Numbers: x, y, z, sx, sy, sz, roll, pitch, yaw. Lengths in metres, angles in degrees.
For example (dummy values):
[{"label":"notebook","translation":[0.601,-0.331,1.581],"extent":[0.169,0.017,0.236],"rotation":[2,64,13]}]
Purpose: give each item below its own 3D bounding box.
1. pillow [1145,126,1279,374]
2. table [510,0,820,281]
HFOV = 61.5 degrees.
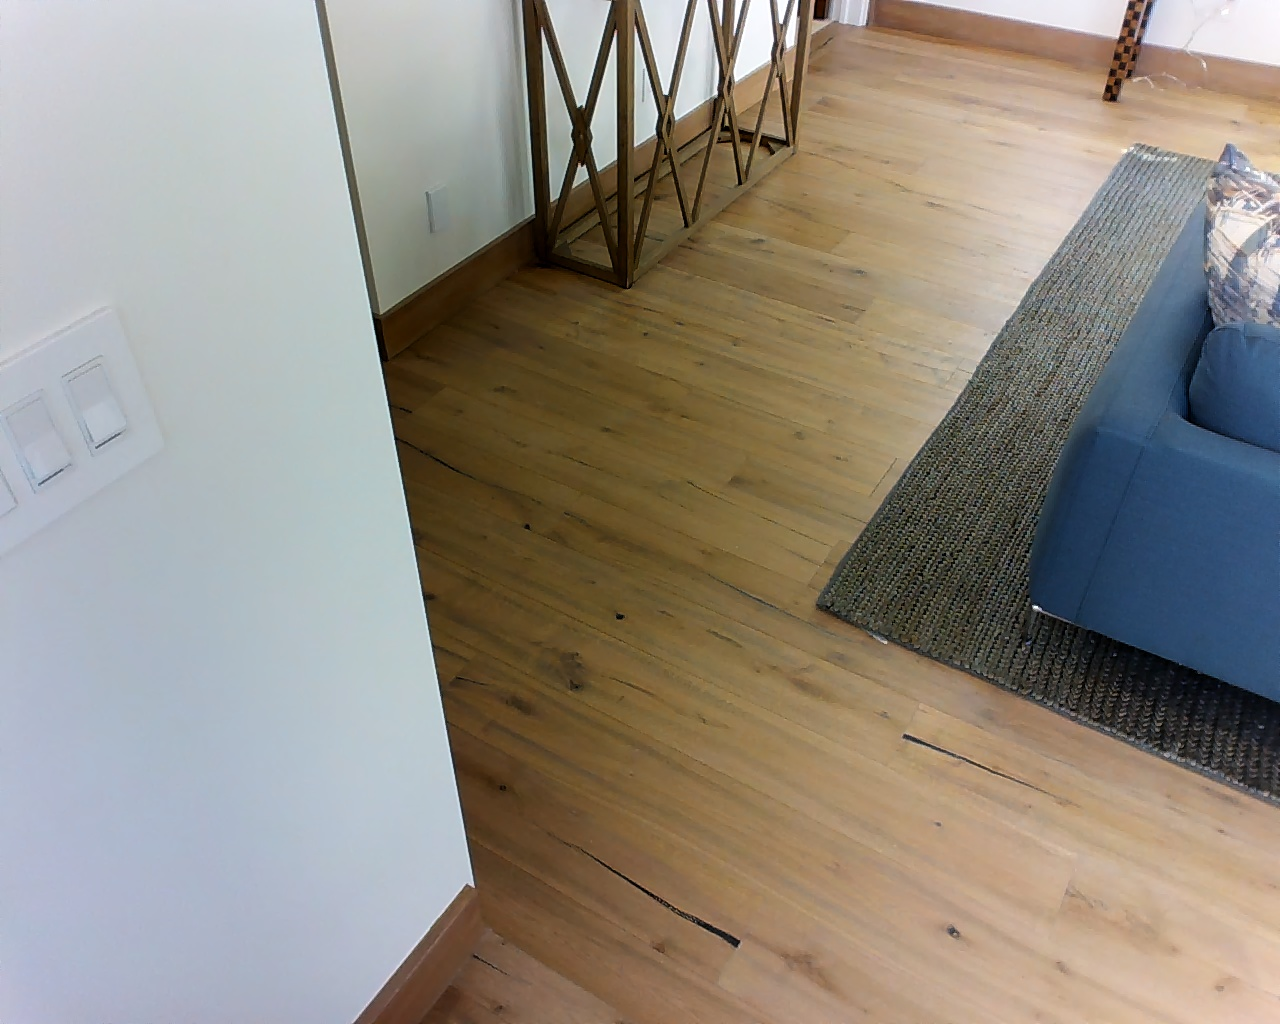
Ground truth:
[{"label":"pillow","translation":[1.240,-0.500,2.040],"extent":[0.230,0.250,0.530],"rotation":[-6,42,-7]},{"label":"table","translation":[0.140,-1.520,3.640],"extent":[0.410,0.910,1.300],"rotation":[23,46,23]}]
